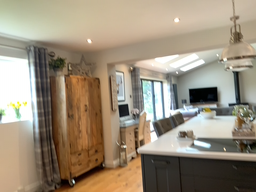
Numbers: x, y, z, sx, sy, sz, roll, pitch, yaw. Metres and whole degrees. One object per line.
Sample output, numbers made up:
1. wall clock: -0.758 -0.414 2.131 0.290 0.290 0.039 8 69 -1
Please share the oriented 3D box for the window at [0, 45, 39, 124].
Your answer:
1. window: -1.970 -0.160 2.900 0.220 1.110 1.510 -4 0 30
